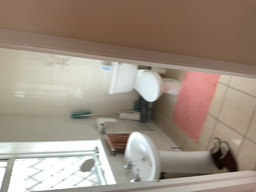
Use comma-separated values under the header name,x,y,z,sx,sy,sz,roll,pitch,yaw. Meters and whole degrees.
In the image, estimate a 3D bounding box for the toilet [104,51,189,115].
name,x,y,z,sx,sy,sz,roll,pitch,yaw
toilet,0.190,-0.180,2.760,0.710,0.780,0.590,-136,54,-62

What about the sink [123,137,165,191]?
name,x,y,z,sx,sy,sz,roll,pitch,yaw
sink,0.130,0.620,1.970,0.420,0.180,0.290,-135,52,-61
